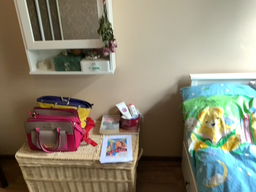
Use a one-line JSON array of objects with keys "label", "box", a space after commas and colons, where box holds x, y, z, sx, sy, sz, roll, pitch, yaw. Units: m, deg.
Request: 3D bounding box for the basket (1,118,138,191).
[{"label": "basket", "box": [-0.370, 0.490, 1.670, 0.890, 0.440, 0.470, 1, 25, 4]}]
